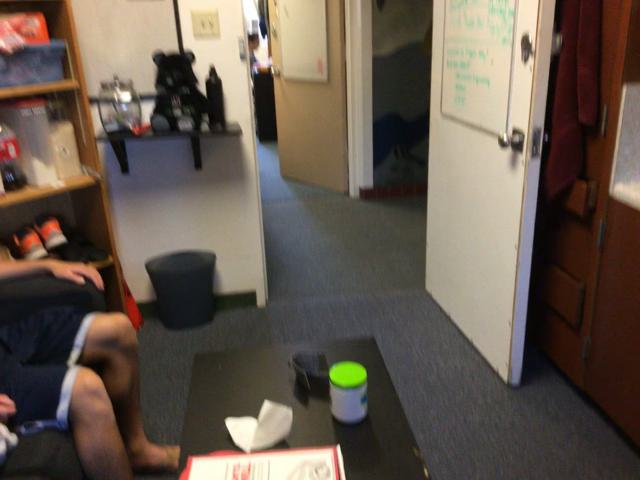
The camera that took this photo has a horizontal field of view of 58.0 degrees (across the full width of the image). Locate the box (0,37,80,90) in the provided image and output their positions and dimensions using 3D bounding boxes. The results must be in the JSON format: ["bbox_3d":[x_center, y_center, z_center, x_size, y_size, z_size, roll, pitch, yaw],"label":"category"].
[{"bbox_3d":[-1.110,-0.640,2.100,0.370,0.170,0.190,-19,23,-40],"label":"box"}]
